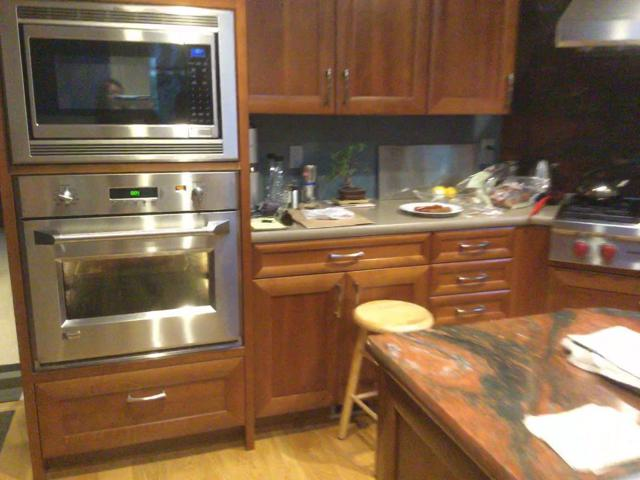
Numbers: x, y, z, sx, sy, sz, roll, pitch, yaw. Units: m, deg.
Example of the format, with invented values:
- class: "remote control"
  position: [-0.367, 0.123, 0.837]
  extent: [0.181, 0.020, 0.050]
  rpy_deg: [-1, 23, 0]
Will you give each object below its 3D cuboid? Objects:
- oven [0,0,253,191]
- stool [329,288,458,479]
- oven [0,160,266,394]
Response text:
- class: "oven"
  position: [-0.660, -0.510, 1.930]
  extent: [0.810, 0.620, 0.220]
  rpy_deg: [-5, 14, -16]
- class: "stool"
  position: [0.270, 0.560, 2.300]
  extent: [0.330, 0.590, 0.470]
  rpy_deg: [-5, 14, -17]
- class: "oven"
  position: [-0.650, 0.100, 2.030]
  extent: [0.860, 0.700, 0.230]
  rpy_deg: [-5, 14, -16]
